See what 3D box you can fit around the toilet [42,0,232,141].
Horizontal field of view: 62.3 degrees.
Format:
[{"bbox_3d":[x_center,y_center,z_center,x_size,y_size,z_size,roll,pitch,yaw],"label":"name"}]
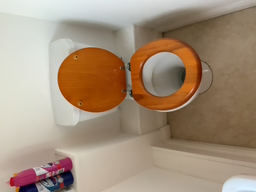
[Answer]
[{"bbox_3d":[0.080,-0.100,1.180,0.650,0.810,0.440,-3,93,44],"label":"toilet"}]
